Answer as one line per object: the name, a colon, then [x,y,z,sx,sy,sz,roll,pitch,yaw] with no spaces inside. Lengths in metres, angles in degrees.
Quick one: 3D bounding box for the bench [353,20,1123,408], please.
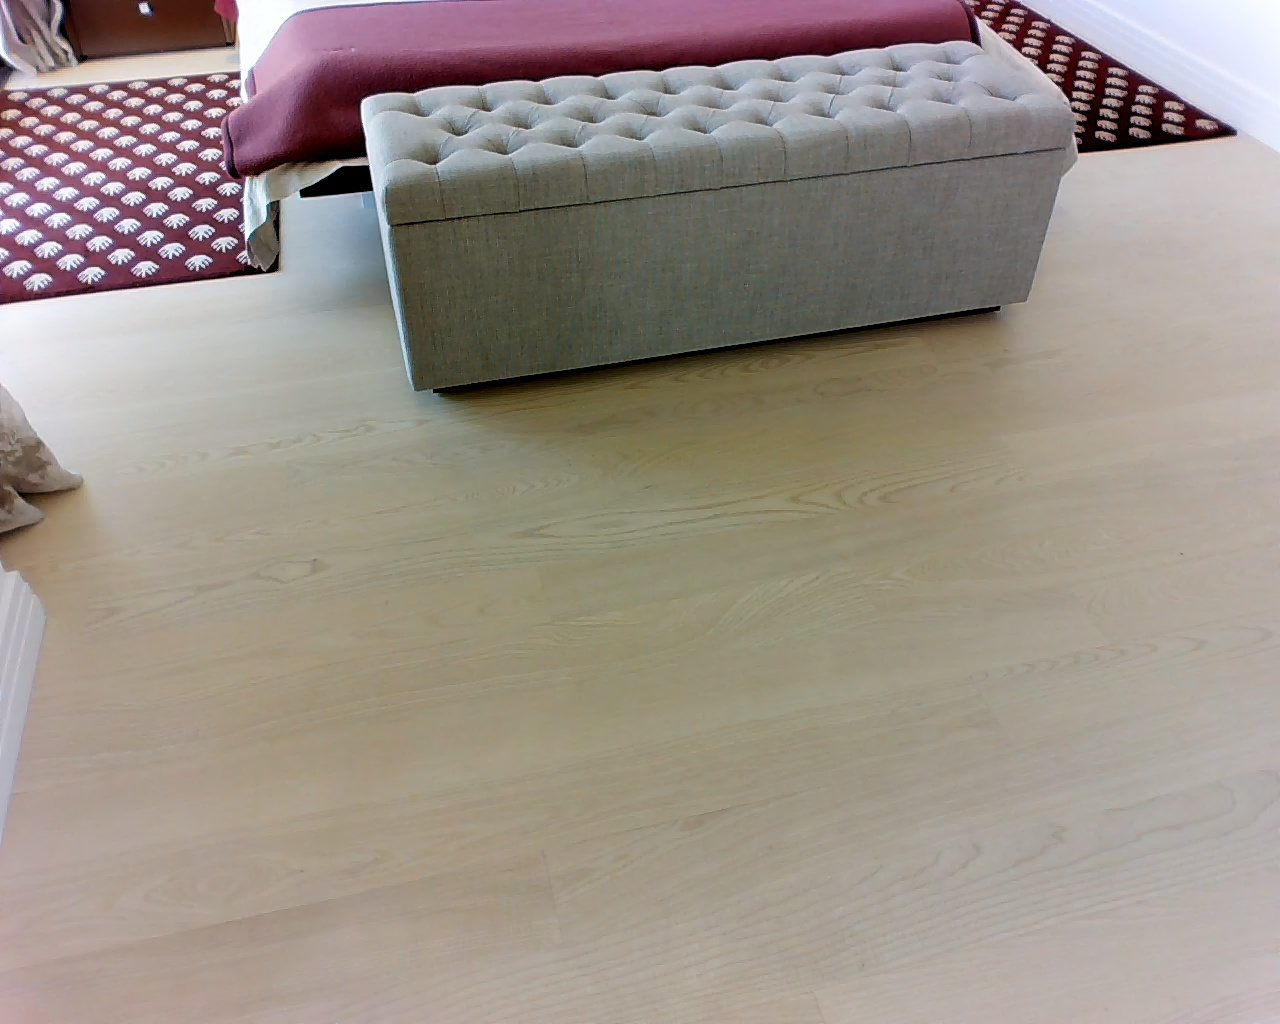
bench: [0.190,-0.730,2.520,1.570,0.520,0.580,-9,43,-11]
